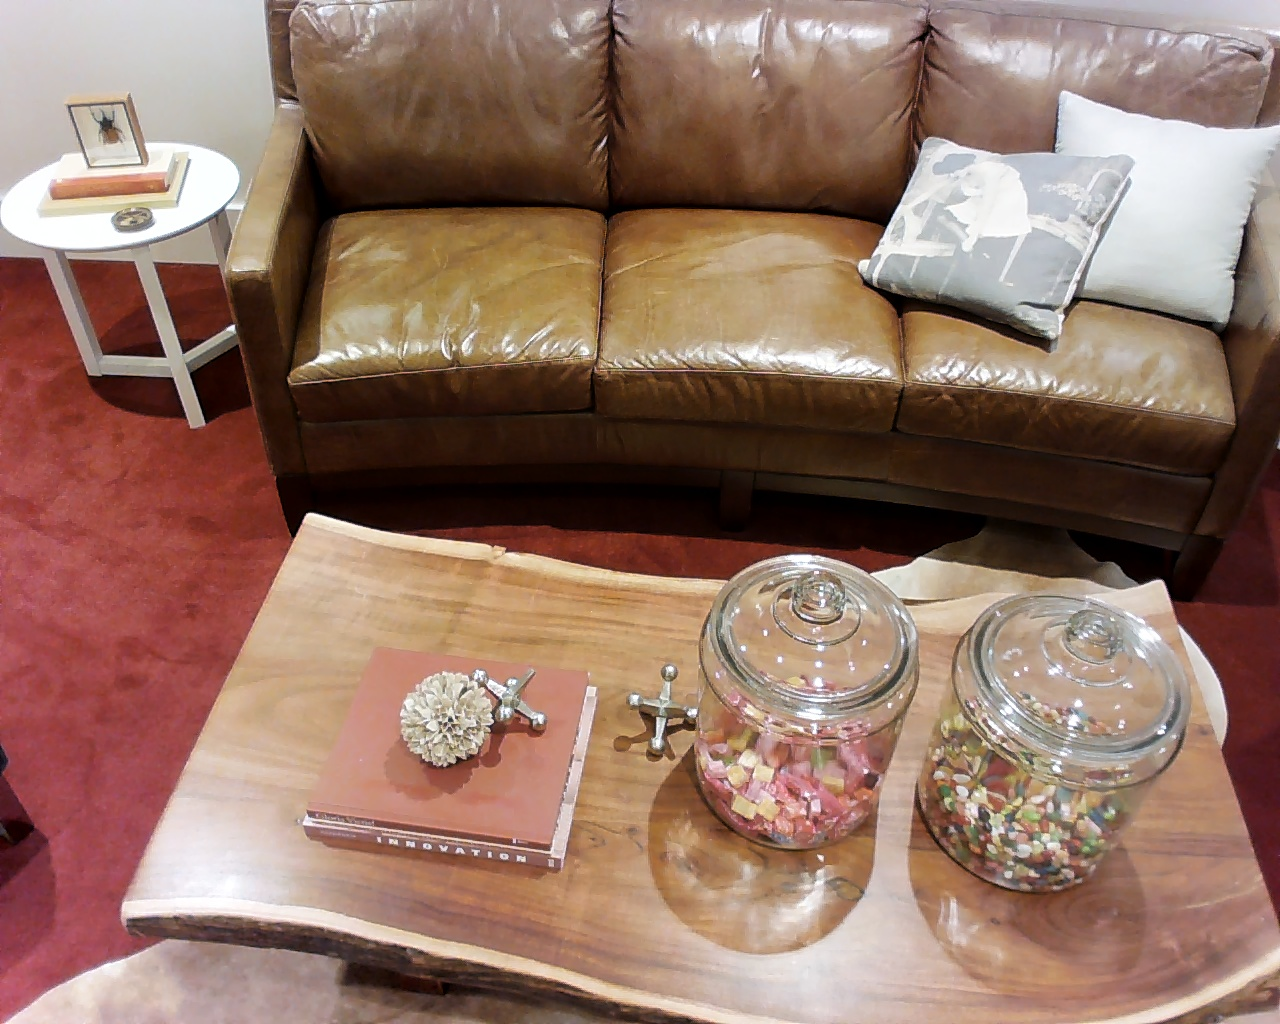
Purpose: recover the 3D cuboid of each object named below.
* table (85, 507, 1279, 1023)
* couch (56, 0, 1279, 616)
[{"bbox_3d":[0.100,0.440,1.510,1.310,0.450,0.730,3,43,3],"label":"table"},{"bbox_3d":[0.250,-0.560,2.350,2.260,0.880,1.150,3,43,3],"label":"couch"}]
